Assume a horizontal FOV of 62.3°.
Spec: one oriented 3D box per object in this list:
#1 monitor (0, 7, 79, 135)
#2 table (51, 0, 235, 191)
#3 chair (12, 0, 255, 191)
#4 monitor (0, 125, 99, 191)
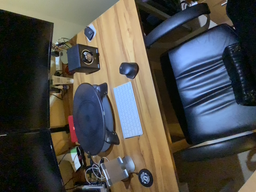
[{"bbox_3d":[-0.530,-0.120,1.200,0.040,0.540,0.630,7,95,41],"label":"monitor"},{"bbox_3d":[0.070,0.120,1.540,0.800,0.740,1.260,-20,77,40],"label":"table"},{"bbox_3d":[0.370,-0.100,0.900,0.670,1.290,0.670,-26,74,38],"label":"chair"},{"bbox_3d":[-0.420,0.470,1.120,0.040,0.540,0.630,-41,65,34],"label":"monitor"}]
